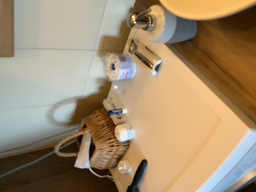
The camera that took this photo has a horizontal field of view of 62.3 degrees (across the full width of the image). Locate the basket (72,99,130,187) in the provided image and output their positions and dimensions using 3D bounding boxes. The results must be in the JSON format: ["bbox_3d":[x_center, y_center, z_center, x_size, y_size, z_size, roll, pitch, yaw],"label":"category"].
[{"bbox_3d":[-0.120,0.180,0.810,0.200,0.090,0.270,57,139,34],"label":"basket"}]
